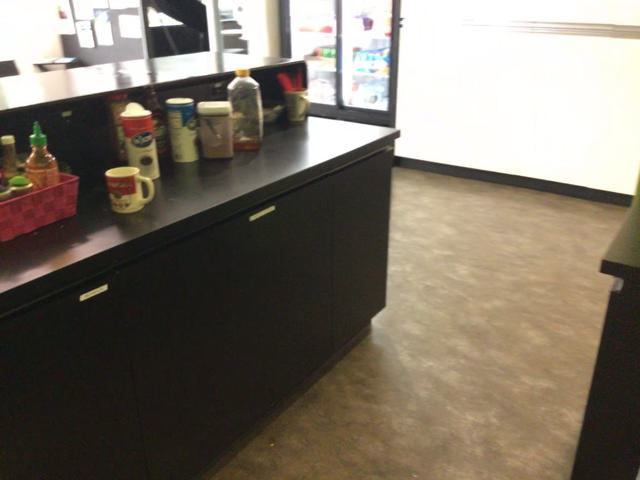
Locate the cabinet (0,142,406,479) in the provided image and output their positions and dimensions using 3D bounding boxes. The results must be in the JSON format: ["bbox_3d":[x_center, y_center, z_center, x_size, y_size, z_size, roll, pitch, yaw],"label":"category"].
[{"bbox_3d":[-0.990,0.730,0.580,0.100,0.890,4.550,14,25,31],"label":"cabinet"}]

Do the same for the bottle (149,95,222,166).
[{"bbox_3d":[-0.410,-0.340,1.780,0.140,0.180,0.150,14,25,31],"label":"bottle"}]

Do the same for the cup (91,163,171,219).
[{"bbox_3d":[-0.450,-0.120,1.380,0.140,0.090,0.110,14,25,31],"label":"cup"}]
